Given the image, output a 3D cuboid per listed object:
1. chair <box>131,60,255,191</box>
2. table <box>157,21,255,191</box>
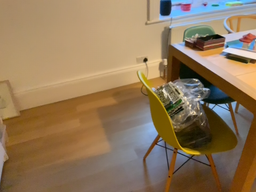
[{"bbox_3d":[0.330,0.240,1.330,0.450,0.720,0.490,-13,35,-14],"label":"chair"},{"bbox_3d":[1.370,-0.110,1.720,2.000,0.760,1.020,-13,35,-14],"label":"table"}]
